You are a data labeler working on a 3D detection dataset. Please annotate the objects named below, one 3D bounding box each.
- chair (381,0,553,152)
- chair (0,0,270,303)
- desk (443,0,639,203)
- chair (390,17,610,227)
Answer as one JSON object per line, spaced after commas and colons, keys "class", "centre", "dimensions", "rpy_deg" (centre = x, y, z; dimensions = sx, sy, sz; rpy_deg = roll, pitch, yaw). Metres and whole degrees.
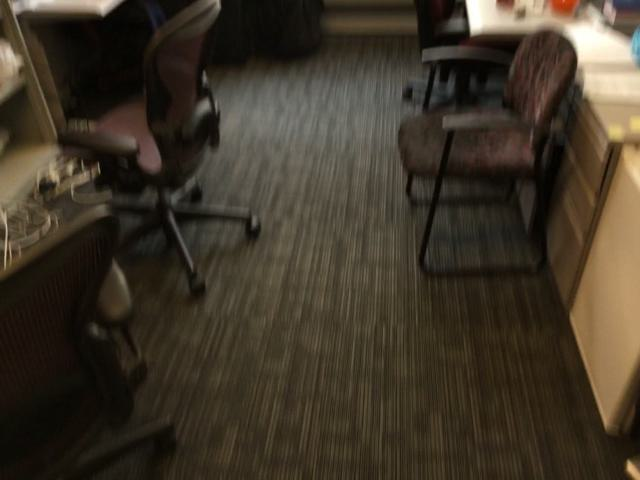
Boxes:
{"class": "chair", "centre": [0.730, -1.020, 2.820], "dimensions": [0.650, 0.920, 0.520], "rpy_deg": [17, 39, 21]}
{"class": "chair", "centre": [-0.600, -0.370, 2.090], "dimensions": [0.680, 0.940, 0.640], "rpy_deg": [5, 36, 6]}
{"class": "desk", "centre": [1.070, -0.890, 2.740], "dimensions": [0.810, 0.840, 1.240], "rpy_deg": [5, 36, 6]}
{"class": "chair", "centre": [0.540, -0.420, 1.940], "dimensions": [0.550, 0.450, 0.600], "rpy_deg": [5, 36, 6]}
